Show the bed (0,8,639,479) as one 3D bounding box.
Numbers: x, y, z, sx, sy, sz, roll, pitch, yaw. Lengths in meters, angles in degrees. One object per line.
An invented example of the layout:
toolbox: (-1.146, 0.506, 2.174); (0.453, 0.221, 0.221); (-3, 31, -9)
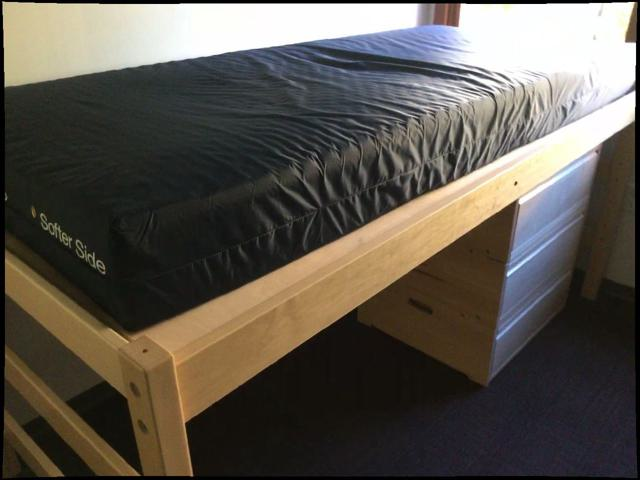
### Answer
bed: (0.120, -0.030, 1.920); (1.129, 1.102, 2.268); (21, 36, 36)
